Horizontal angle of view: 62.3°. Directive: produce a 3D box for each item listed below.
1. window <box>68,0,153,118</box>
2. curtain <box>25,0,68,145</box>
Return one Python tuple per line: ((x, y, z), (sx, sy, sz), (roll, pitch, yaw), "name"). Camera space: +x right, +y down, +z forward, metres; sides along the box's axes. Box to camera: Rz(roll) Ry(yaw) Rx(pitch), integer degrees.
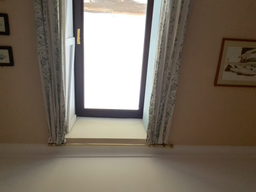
((-0.200, -0.620, 2.290), (0.840, 1.800, 0.130), (2, -161, -5), "window")
((-0.650, -0.560, 1.690), (0.240, 2.100, 0.160), (2, -161, -5), "curtain")
